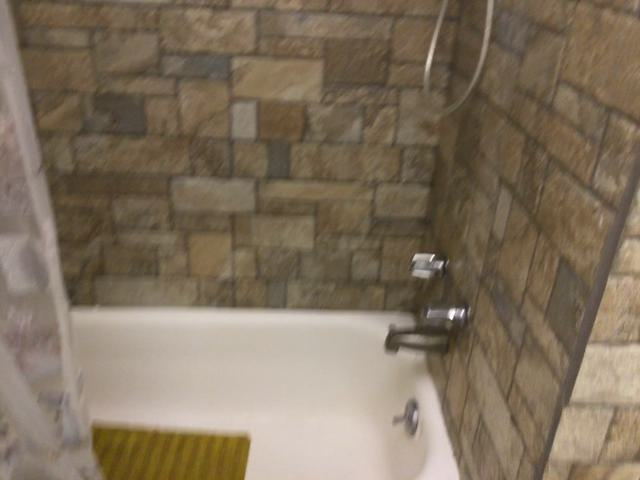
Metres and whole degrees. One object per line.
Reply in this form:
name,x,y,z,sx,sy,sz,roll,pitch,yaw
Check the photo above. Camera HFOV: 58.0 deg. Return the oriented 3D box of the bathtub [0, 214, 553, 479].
bathtub,-0.530,0.430,1.310,1.670,0.680,0.850,0,28,-2
